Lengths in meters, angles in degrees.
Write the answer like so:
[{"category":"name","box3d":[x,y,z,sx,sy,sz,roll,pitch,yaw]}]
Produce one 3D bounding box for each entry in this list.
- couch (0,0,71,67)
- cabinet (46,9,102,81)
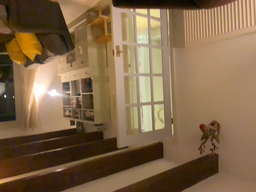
[{"category":"couch","box3d":[-1.740,-0.980,3.210,1.110,0.840,1.660,-3,-178,-37]},{"category":"cabinet","box3d":[-1.130,-0.900,4.240,0.450,1.100,1.480,-3,-178,-40]}]
